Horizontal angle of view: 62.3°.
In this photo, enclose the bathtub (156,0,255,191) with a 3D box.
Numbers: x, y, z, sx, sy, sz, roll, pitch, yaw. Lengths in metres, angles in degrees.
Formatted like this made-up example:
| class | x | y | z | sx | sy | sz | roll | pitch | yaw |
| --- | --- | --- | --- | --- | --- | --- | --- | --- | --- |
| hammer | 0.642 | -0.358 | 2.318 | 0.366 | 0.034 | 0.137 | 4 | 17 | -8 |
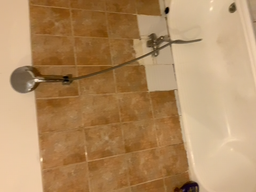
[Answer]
| class | x | y | z | sx | sy | sz | roll | pitch | yaw |
| --- | --- | --- | --- | --- | --- | --- | --- | --- | --- |
| bathtub | 0.740 | 0.030 | 1.390 | 0.720 | 0.550 | 1.970 | 155 | 109 | -65 |
